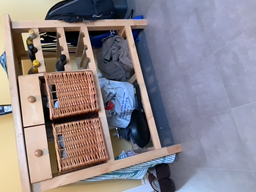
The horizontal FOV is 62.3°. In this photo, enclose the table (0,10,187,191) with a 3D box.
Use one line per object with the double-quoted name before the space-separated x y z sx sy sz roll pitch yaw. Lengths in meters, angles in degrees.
"table" -0.250 0.020 1.390 0.550 0.840 0.940 140 118 -65
